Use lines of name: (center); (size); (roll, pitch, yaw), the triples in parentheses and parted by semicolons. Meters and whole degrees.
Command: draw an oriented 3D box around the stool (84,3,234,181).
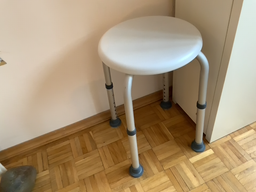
stool: (0.090, -0.010, 0.820); (0.320, 0.500, 0.360); (-20, 45, -12)
